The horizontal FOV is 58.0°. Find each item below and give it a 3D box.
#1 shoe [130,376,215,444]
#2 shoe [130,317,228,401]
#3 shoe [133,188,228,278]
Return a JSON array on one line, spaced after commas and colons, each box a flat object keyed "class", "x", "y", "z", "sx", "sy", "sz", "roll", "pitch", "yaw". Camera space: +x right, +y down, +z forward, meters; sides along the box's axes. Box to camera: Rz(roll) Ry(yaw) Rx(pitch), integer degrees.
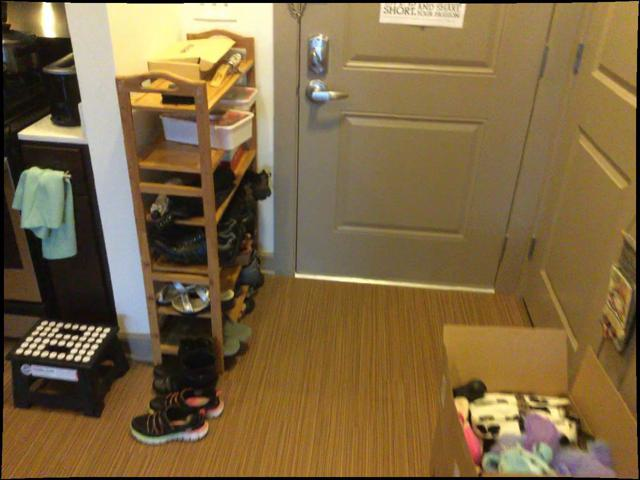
[{"class": "shoe", "x": -0.459, "y": 0.531, "z": 1.820, "sx": 0.210, "sy": 0.070, "sz": 0.190, "roll": 5, "pitch": 30, "yaw": 3}, {"class": "shoe", "x": -0.469, "y": 0.401, "z": 1.960, "sx": 0.269, "sy": 0.160, "sz": 0.200, "roll": 5, "pitch": 30, "yaw": 3}, {"class": "shoe", "x": -0.449, "y": -0.030, "z": 1.910, "sx": 0.219, "sy": 0.160, "sz": 0.290, "roll": 5, "pitch": 30, "yaw": 3}]
